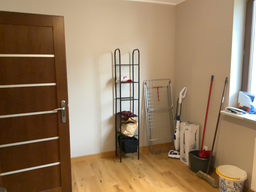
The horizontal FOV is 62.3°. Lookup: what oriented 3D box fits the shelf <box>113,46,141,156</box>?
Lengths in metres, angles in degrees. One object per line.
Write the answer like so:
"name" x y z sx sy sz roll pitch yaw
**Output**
"shelf" -0.030 0.090 3.450 0.390 1.720 0.300 -1 8 -12
